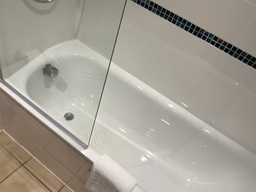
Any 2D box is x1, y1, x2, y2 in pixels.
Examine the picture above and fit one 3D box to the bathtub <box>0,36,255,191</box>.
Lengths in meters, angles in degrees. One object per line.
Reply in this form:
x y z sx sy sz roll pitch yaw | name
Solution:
0.000 0.350 1.390 1.670 0.530 0.690 35 45 13 | bathtub
